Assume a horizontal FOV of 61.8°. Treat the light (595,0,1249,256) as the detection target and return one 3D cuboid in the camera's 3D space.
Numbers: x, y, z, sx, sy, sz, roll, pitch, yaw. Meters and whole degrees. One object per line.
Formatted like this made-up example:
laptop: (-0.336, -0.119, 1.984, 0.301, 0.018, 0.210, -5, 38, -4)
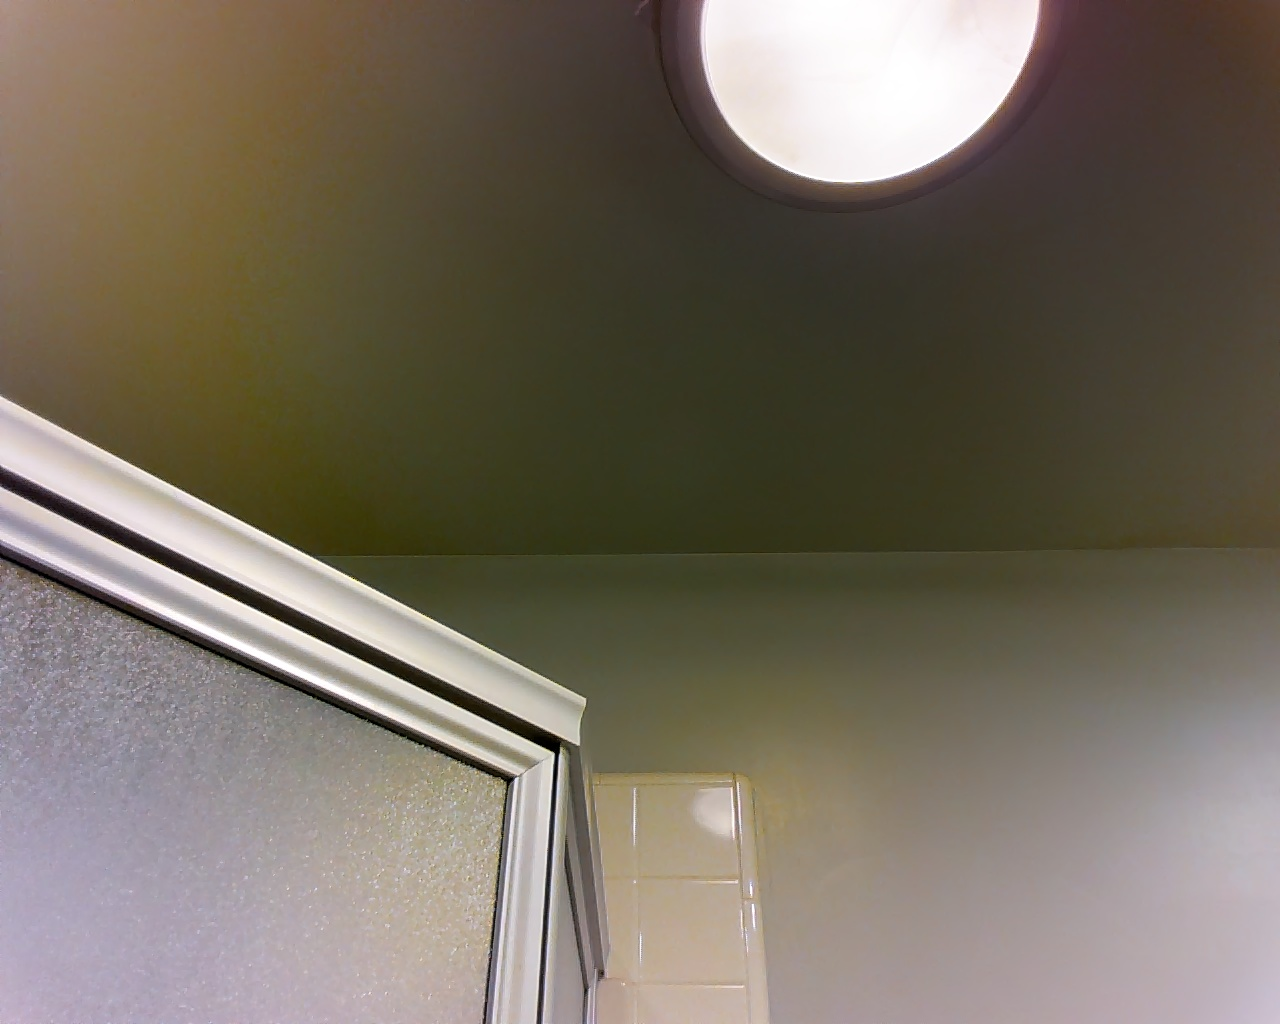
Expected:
light: (0.210, -0.410, 0.920, 0.390, 0.080, 0.390, 14, -21, -16)
